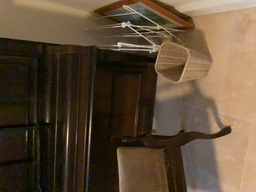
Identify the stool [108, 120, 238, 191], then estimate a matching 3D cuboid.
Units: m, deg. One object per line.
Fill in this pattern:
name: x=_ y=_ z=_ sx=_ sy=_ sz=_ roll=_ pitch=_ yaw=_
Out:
stool: x=0.260 y=0.460 z=1.190 sx=0.370 sy=0.580 sz=0.580 roll=-20 pitch=74 yaw=54
